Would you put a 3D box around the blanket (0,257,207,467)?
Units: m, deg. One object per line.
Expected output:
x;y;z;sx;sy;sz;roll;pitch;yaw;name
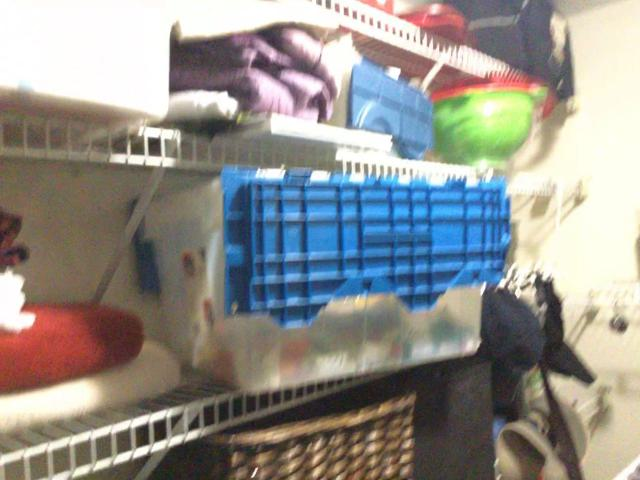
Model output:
-0.380;0.150;0.770;0.420;0.230;0.160;-1;-4;-45;blanket
